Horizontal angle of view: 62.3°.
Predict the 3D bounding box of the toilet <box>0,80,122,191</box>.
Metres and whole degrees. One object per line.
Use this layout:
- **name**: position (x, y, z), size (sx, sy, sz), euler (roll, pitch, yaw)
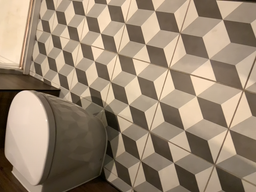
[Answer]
- **toilet**: position (-0.370, 0.200, 1.150), size (0.380, 0.450, 0.470), euler (22, 103, 33)
